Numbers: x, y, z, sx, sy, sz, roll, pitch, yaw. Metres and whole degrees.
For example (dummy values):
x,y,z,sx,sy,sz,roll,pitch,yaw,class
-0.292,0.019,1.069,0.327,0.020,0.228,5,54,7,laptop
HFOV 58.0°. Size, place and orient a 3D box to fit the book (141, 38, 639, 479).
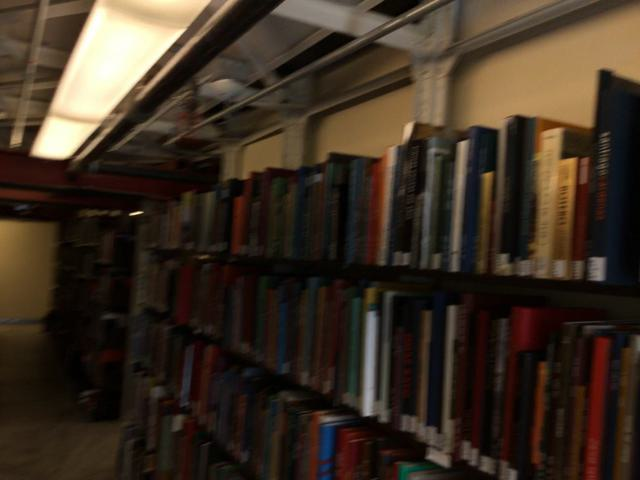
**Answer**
x,y,z,sx,sy,sz,roll,pitch,yaw,class
-0.080,0.620,1.930,0.360,1.830,2.500,6,-1,-29,book
